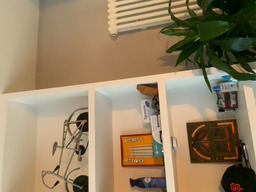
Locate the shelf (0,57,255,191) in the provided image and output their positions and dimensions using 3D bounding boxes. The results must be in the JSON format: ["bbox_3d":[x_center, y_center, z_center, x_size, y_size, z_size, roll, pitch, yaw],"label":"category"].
[{"bbox_3d":[0.300,0.230,1.140,0.300,2.120,0.720,37,-131,-72],"label":"shelf"}]
